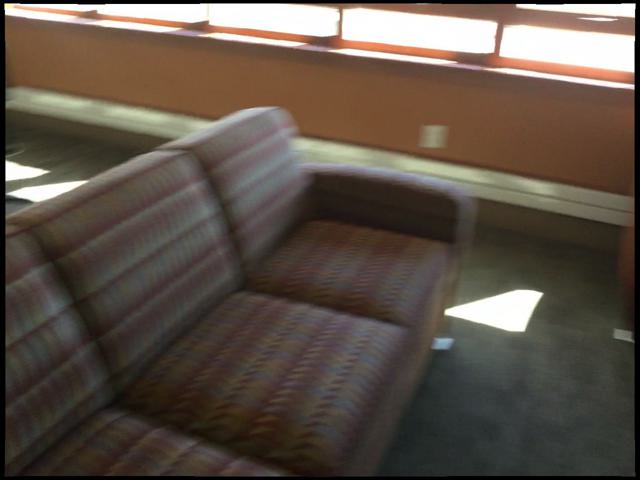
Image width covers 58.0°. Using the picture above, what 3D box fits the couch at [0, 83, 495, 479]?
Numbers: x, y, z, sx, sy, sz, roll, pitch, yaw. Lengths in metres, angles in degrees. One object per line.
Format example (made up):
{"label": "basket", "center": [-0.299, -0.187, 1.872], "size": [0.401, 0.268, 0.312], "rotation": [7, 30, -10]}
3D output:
{"label": "couch", "center": [-0.259, 0.291, 1.430], "size": [0.879, 0.821, 1.920], "rotation": [14, 32, 21]}
